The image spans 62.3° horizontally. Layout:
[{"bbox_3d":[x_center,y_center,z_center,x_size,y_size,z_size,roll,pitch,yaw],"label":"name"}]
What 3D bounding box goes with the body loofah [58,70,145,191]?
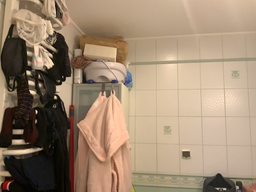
[{"bbox_3d":[-0.230,0.540,1.640,0.380,1.340,0.630,5,-7,-38],"label":"body loofah"}]
